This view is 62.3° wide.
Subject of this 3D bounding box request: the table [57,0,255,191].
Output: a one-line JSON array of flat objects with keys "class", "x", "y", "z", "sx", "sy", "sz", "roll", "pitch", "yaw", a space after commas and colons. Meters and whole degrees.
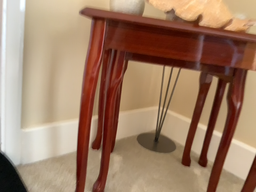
[{"class": "table", "x": 0.110, "y": 0.040, "z": 0.670, "sx": 0.490, "sy": 0.500, "sz": 0.430, "roll": 9, "pitch": 15, "yaw": 0}]
